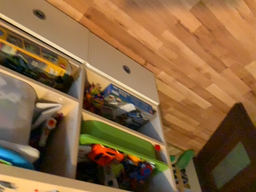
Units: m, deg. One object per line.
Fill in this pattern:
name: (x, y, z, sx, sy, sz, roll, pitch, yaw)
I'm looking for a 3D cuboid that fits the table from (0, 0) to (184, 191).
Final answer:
table: (-0.320, 0.090, 0.900, 0.920, 0.740, 0.510, 29, 128, -33)
